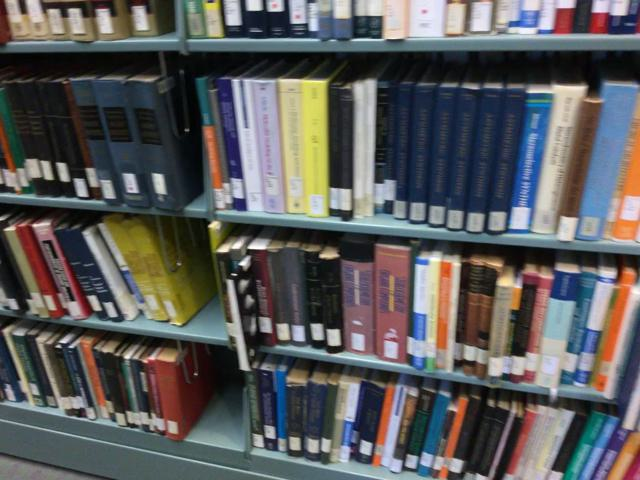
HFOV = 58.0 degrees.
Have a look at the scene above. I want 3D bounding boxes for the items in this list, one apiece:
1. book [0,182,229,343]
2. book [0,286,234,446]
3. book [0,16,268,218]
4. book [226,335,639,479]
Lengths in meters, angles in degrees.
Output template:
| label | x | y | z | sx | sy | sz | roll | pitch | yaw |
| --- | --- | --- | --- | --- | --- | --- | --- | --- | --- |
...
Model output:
| label | x | y | z | sx | sy | sz | roll | pitch | yaw |
| --- | --- | --- | --- | --- | --- | --- | --- | --- | --- |
| book | -0.680 | 0.030 | 1.370 | 0.870 | 0.270 | 0.220 | 2 | 27 | 16 |
| book | -0.650 | 0.310 | 1.530 | 0.780 | 0.260 | 0.230 | 2 | 27 | 16 |
| book | -0.640 | -0.290 | 1.300 | 0.920 | 0.300 | 0.440 | 2 | 27 | 16 |
| book | 0.250 | 0.380 | 1.240 | 0.900 | 0.270 | 0.090 | 2 | 27 | 16 |
